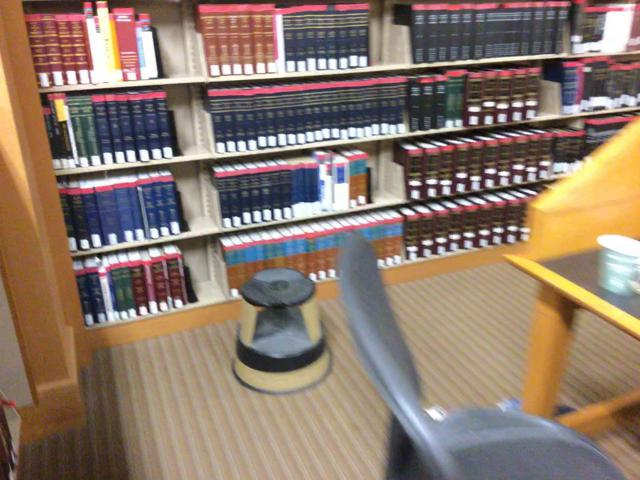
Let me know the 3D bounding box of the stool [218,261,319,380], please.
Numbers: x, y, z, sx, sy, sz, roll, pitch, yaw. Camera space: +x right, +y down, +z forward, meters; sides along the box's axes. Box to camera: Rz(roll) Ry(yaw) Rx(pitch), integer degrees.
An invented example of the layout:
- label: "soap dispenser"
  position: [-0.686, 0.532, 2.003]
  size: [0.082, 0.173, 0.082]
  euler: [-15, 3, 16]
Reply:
- label: "stool"
  position: [-0.180, 0.300, 2.240]
  size: [0.320, 0.280, 0.380]
  euler: [-4, 23, 3]
